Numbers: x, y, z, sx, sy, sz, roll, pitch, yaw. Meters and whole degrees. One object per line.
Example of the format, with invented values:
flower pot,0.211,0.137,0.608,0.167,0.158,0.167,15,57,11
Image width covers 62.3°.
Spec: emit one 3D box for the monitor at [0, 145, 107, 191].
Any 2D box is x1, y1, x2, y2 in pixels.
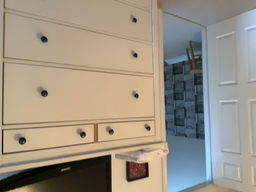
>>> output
monitor,-0.410,0.640,1.310,0.030,0.550,0.740,-3,177,41
